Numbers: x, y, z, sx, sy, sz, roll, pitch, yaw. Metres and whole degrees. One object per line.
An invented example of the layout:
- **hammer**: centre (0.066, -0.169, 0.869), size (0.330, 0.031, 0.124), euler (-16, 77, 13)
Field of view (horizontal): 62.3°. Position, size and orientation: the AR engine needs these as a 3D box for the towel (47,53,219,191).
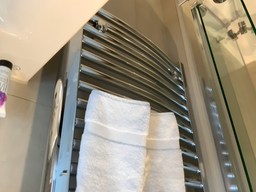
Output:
- **towel**: centre (0.030, 0.140, 0.430), size (0.300, 0.320, 0.140), euler (29, 140, -27)
